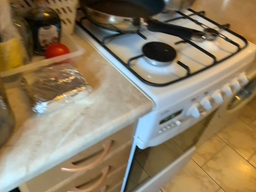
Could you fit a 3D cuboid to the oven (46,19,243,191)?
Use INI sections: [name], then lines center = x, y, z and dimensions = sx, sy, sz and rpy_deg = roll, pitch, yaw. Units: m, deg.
[oven]
center = 0.020, 0.100, 1.100
dimensions = 0.550, 0.670, 0.610
rpy_deg = -25, 54, -30
